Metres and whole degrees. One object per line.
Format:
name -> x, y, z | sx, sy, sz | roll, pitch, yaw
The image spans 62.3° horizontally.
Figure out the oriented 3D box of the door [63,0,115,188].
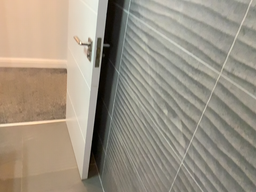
door -> -0.300, -0.390, 1.380 | 0.060, 2.080, 0.810 | -5, 35, -26
